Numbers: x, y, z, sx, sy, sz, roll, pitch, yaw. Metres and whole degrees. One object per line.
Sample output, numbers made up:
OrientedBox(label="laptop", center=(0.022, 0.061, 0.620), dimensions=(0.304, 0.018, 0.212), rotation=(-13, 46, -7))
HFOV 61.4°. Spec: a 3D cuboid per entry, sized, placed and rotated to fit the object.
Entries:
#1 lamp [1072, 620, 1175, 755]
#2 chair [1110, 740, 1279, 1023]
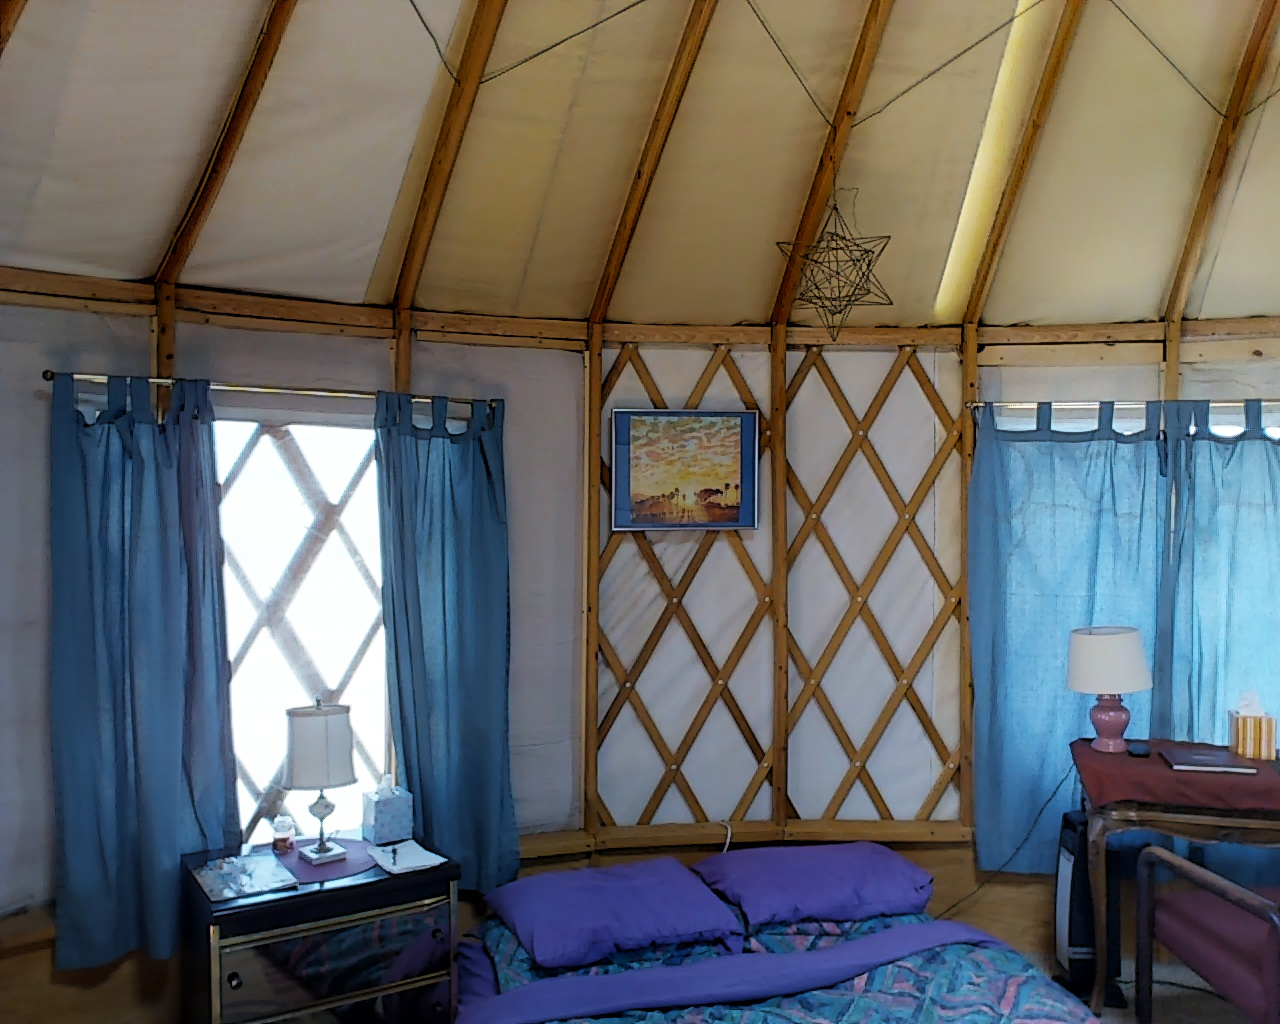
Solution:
OrientedBox(label="lamp", center=(1.530, 0.550, 3.430), dimensions=(0.250, 0.380, 0.240), rotation=(0, 1, 11))
OrientedBox(label="chair", center=(1.700, 1.080, 2.710), dimensions=(0.650, 0.840, 0.720), rotation=(0, 1, -12))
